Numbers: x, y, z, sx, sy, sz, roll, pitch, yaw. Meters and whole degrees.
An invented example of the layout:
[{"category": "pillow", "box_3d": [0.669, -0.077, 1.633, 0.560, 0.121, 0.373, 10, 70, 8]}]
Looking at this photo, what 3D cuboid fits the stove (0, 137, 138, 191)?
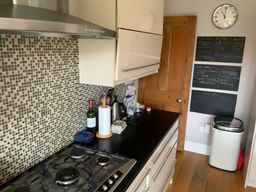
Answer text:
[{"category": "stove", "box_3d": [-0.340, 0.440, 1.170, 0.550, 0.030, 0.740, 9, 16, 24]}]
